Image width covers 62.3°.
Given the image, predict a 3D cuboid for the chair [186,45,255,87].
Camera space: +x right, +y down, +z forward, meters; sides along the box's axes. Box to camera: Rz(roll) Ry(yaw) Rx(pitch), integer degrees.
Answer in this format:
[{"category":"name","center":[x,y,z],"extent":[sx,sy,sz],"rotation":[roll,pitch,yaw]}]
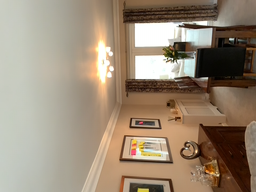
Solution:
[{"category":"chair","center":[1.410,-0.450,3.080],"extent":[0.580,0.980,0.500],"rotation":[-80,-11,-72]}]

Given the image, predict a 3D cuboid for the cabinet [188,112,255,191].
[{"category":"cabinet","center":[1.420,0.810,2.590],"extent":[1.950,0.900,0.570],"rotation":[-79,-12,-73]}]

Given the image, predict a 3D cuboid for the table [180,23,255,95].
[{"category":"table","center":[1.560,-0.780,3.960],"extent":[1.950,0.770,1.000],"rotation":[-79,-12,-73]}]
